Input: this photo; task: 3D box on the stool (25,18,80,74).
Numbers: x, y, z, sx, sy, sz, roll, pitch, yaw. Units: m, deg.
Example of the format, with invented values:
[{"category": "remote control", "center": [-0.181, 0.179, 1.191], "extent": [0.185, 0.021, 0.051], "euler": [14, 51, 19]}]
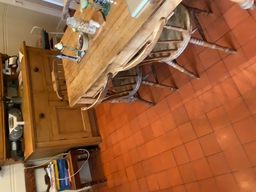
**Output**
[{"category": "stool", "center": [-1.270, -0.810, 3.550], "extent": [0.320, 0.720, 0.750], "euler": [-39, 59, 43]}]

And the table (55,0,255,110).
[{"category": "table", "center": [0.080, -0.570, 1.780], "extent": [1.570, 0.760, 0.760], "euler": [-40, 58, 42]}]
